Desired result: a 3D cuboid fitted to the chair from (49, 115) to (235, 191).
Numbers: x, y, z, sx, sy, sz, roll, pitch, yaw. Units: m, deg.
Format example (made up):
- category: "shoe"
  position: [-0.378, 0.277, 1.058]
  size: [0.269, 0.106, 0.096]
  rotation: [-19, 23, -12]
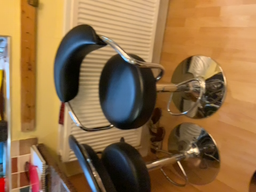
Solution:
- category: "chair"
  position: [0.110, 0.420, 1.200]
  size: [0.450, 0.940, 0.390]
  rotation: [25, 112, 49]
